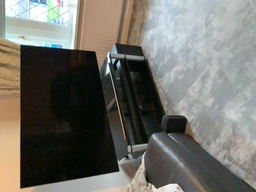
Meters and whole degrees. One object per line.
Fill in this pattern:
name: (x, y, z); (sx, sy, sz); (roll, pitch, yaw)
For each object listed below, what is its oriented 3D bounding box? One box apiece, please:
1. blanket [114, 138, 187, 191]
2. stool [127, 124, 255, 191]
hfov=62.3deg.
blanket: (0.130, 0.730, 1.640); (0.630, 0.170, 0.520); (45, 128, 55)
stool: (0.430, 0.710, 1.720); (0.850, 0.460, 0.620); (40, 124, 57)
